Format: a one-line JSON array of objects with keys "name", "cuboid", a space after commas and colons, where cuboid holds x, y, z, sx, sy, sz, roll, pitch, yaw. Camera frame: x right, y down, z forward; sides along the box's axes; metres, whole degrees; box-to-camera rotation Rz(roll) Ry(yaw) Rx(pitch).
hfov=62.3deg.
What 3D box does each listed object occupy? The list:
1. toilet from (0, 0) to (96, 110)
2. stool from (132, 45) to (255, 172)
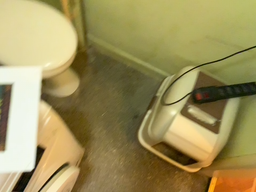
[{"name": "toilet", "cuboid": [-0.500, -0.370, 0.930, 0.580, 0.940, 0.380, 29, 69, 4]}, {"name": "stool", "cuboid": [0.320, 0.100, 1.140, 0.380, 0.420, 0.460, 27, 69, 3]}]
